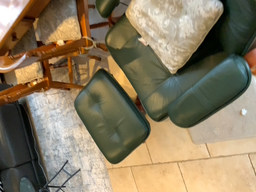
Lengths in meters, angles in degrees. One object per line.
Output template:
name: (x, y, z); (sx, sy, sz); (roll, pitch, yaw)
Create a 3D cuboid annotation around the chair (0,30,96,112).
chair: (-0.760, -0.200, 1.700); (0.480, 0.840, 0.500); (0, 98, 40)

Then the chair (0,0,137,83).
chair: (-0.390, -0.380, 1.360); (0.430, 0.830, 0.430); (20, 110, 36)

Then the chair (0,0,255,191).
chair: (0.150, -0.280, 0.830); (0.810, 0.980, 0.690); (-41, 72, 37)
